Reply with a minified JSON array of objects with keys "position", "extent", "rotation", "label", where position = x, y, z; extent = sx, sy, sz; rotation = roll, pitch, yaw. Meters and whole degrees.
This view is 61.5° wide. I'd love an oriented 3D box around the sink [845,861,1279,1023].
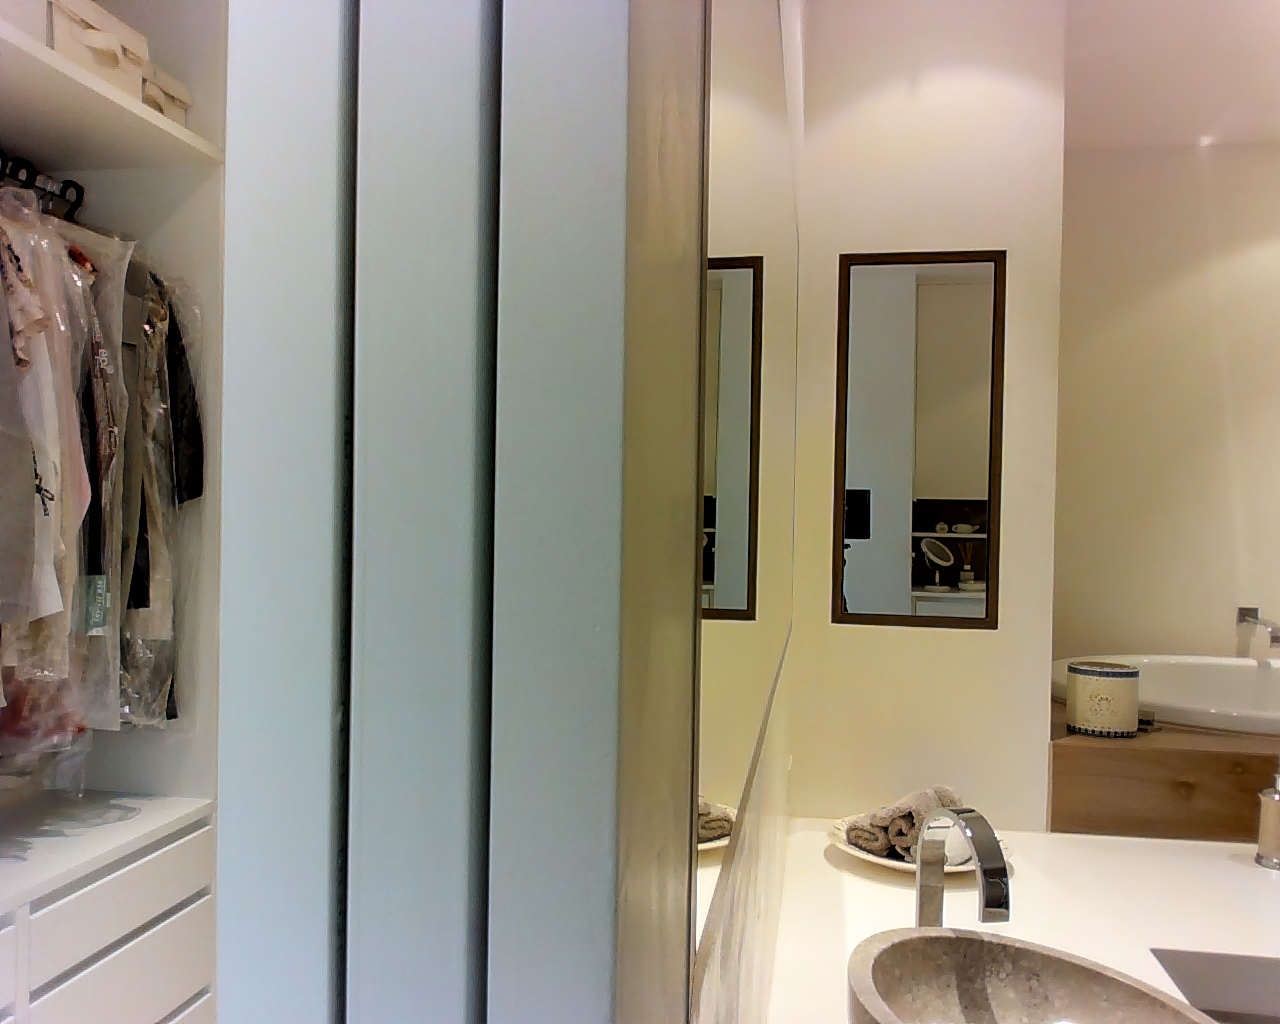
[{"position":[0.450,0.540,1.100],"extent":[0.470,0.170,0.480],"rotation":[1,1,11],"label":"sink"}]
